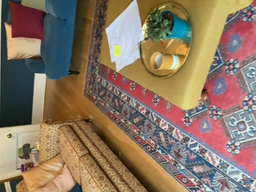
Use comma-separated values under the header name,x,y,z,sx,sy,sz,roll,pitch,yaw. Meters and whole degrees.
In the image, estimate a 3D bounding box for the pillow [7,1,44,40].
name,x,y,z,sx,sy,sz,roll,pitch,yaw
pillow,-1.360,-1.000,2.830,0.220,0.410,0.400,-135,53,-61

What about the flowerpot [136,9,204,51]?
name,x,y,z,sx,sy,sz,roll,pitch,yaw
flowerpot,0.220,-0.360,1.150,0.260,0.210,0.150,35,118,47

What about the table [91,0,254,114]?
name,x,y,z,sx,sy,sz,roll,pitch,yaw
table,0.180,-0.420,1.590,1.120,0.350,0.650,34,118,47
